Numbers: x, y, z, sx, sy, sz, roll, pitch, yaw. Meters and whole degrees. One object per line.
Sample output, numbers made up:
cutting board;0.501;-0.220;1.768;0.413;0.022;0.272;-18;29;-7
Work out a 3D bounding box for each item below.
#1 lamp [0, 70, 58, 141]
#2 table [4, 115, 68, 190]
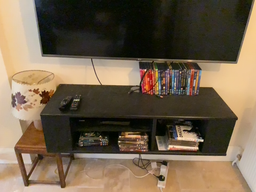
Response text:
lamp;-0.680;0.060;1.470;0.270;0.390;0.300;1;29;-3
table;-0.670;0.430;1.640;0.290;0.420;0.370;1;29;-3
